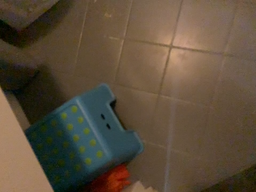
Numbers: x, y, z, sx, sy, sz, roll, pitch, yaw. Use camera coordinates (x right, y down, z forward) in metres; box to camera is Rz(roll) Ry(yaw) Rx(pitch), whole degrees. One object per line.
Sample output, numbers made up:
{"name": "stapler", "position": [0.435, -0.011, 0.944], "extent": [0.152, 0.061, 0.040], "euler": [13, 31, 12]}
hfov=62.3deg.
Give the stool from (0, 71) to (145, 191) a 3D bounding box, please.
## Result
{"name": "stool", "position": [-0.220, 0.180, 0.780], "extent": [0.410, 0.250, 0.340], "euler": [-33, 82, 12]}
